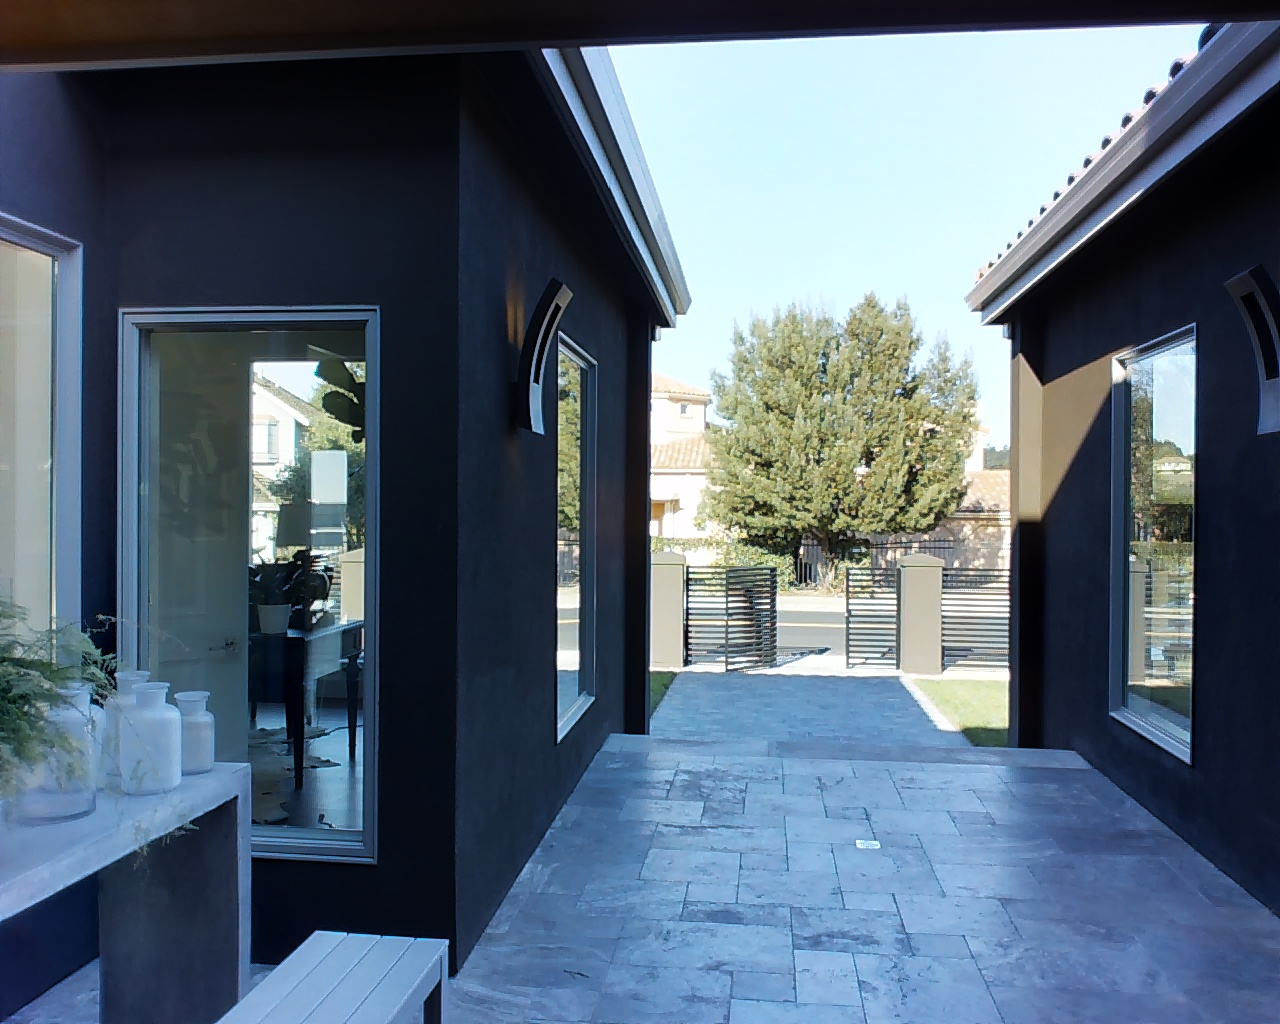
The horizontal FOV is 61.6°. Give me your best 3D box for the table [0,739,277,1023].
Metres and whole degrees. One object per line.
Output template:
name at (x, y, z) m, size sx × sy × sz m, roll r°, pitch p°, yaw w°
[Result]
table at (-1.320, 1.070, 2.130) m, size 0.460 × 0.860 × 1.670 m, roll 0°, pitch 0°, yaw 7°
